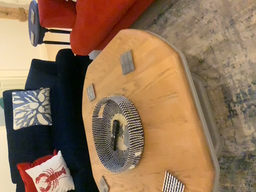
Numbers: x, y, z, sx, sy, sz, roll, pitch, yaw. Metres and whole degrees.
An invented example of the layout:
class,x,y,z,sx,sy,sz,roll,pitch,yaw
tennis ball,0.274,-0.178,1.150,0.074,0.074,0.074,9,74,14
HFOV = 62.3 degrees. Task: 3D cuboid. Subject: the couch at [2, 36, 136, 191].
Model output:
class,x,y,z,sx,sy,sz,roll,pitch,yaw
couch,-0.640,0.730,2.130,1.120,0.830,2.250,-31,69,52
